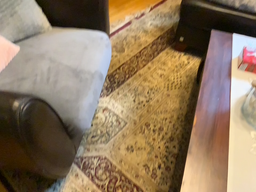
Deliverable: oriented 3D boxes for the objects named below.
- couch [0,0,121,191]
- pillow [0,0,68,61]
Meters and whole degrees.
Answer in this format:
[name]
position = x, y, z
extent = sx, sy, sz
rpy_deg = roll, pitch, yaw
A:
[couch]
position = -0.650, -0.200, 1.050
extent = 1.050, 0.870, 1.010
rpy_deg = 9, 52, 5
[pillow]
position = -0.540, -0.400, 1.030
extent = 0.150, 0.370, 0.360
rpy_deg = 31, 100, 20
